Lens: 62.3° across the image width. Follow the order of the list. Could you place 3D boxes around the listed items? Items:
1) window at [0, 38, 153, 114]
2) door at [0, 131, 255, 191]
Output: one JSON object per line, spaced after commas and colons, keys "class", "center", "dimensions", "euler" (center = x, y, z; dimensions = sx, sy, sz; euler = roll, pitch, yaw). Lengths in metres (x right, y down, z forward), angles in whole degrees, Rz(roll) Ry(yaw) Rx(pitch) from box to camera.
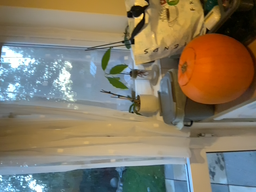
{"class": "window", "center": [-0.290, -0.110, 1.240], "dimensions": [0.030, 0.870, 0.430], "euler": [124, 146, -68]}
{"class": "door", "center": [0.260, 0.600, 1.120], "dimensions": [0.050, 1.990, 0.800], "euler": [124, 146, -68]}
